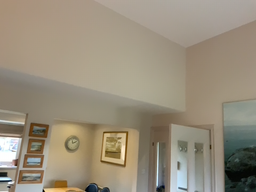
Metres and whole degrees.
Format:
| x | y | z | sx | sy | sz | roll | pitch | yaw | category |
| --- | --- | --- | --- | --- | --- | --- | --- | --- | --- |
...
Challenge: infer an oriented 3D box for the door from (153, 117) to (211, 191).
| x | y | z | sx | sy | sz | roll | pitch | yaw | category |
| --- | --- | --- | --- | --- | --- | --- | --- | --- | --- |
| 0.740 | 1.390 | 2.800 | 0.940 | 2.100 | 0.200 | 13 | -16 | -35 | door |
